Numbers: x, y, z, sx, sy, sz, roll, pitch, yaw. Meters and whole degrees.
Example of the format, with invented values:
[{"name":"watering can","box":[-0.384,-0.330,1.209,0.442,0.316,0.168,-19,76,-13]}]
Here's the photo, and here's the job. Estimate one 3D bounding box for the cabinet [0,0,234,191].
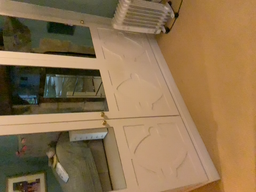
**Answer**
[{"name":"cabinet","box":[-0.580,0.110,1.930,0.840,2.230,1.920,-57,42,47]}]
